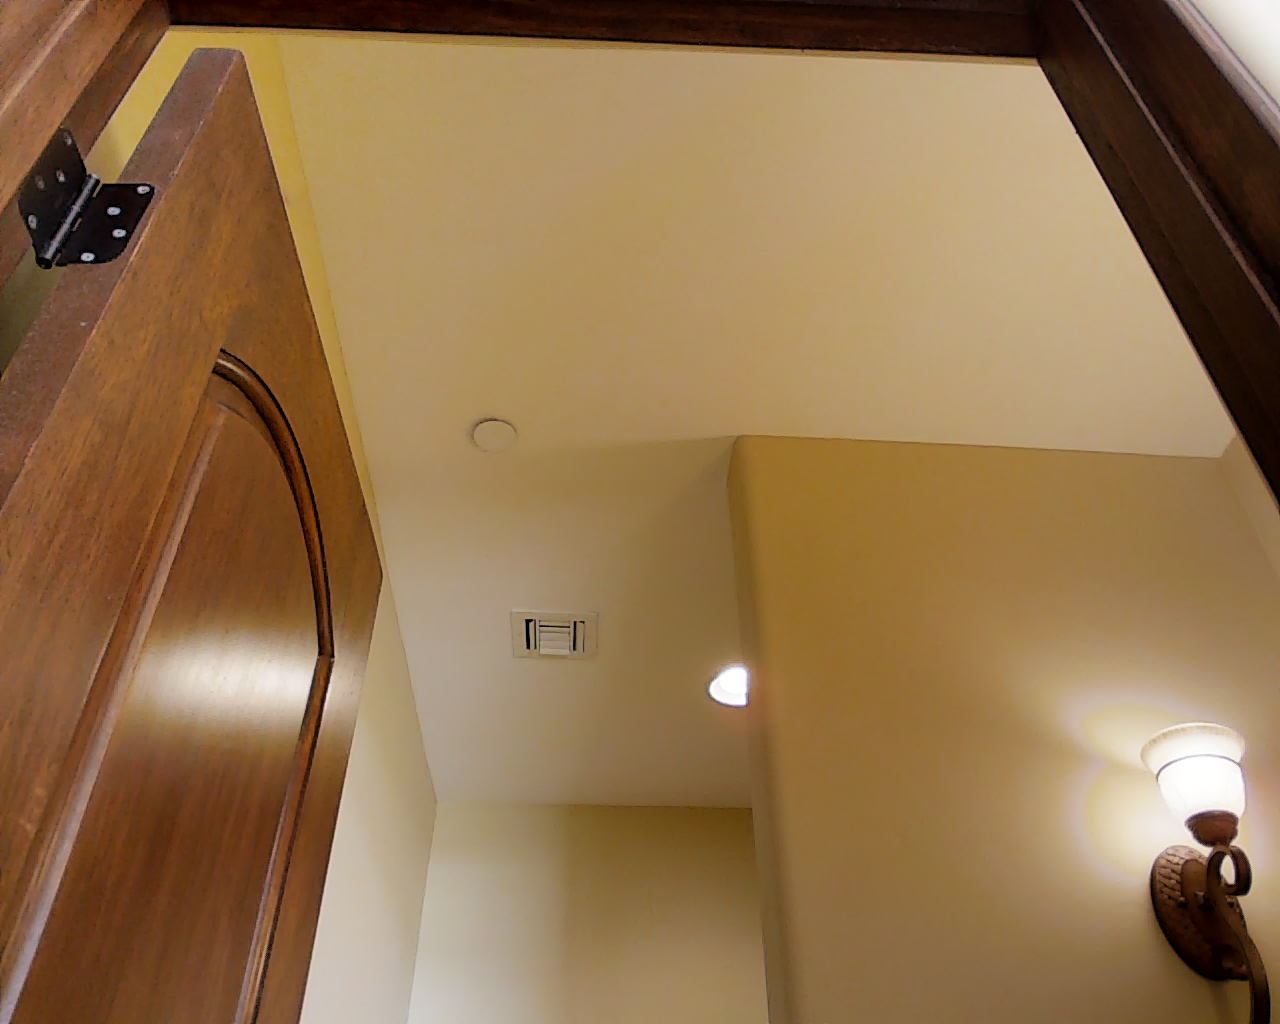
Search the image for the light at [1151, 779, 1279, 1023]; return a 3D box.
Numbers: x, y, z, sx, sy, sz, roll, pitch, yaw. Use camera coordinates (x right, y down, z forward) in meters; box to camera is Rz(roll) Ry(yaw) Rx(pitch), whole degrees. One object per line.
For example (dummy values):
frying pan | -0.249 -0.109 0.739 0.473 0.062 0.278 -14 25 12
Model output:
light | 0.840 0.610 1.410 0.130 0.490 0.140 0 -41 1
